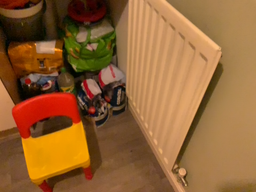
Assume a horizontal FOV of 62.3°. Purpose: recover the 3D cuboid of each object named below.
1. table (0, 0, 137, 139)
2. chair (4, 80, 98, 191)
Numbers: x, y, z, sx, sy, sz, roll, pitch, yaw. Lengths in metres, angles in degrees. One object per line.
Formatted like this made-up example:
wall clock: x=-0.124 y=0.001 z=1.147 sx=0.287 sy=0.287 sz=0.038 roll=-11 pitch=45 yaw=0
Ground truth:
table: x=-0.390 y=-0.340 z=1.260 sx=0.670 sy=0.930 sz=0.590 roll=-18 pitch=51 yaw=-17
chair: x=-0.380 y=0.230 z=1.100 sx=0.320 sy=0.430 sz=0.360 roll=-16 pitch=51 yaw=-15
